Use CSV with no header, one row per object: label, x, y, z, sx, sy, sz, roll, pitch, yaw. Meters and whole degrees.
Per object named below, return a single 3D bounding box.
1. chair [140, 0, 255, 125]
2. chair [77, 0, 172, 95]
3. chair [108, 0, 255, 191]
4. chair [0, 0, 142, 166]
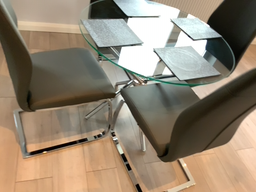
chair,0.550,-0.320,1.590,0.540,1.020,0.450,-10,50,-26
chair,-0.080,-0.570,1.640,0.440,1.010,0.520,-9,49,-26
chair,0.280,0.070,1.110,0.460,1.010,0.560,-9,49,-25
chair,-0.390,-0.160,1.120,0.570,1.010,0.440,-13,51,-29
